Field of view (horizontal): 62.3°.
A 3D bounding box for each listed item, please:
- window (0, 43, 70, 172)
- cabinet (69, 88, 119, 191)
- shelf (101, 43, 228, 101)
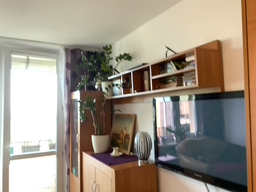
[{"bbox_3d":[-2.020,0.140,2.760,2.460,1.730,0.190,2,-4,-32],"label":"window"},{"bbox_3d":[-0.520,0.840,3.100,0.510,1.850,0.680,1,-4,-29],"label":"cabinet"},{"bbox_3d":[0.170,-0.140,2.180,0.260,0.310,1.710,1,-4,-29],"label":"shelf"}]
